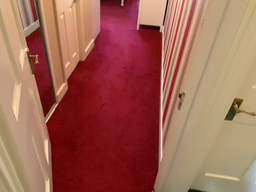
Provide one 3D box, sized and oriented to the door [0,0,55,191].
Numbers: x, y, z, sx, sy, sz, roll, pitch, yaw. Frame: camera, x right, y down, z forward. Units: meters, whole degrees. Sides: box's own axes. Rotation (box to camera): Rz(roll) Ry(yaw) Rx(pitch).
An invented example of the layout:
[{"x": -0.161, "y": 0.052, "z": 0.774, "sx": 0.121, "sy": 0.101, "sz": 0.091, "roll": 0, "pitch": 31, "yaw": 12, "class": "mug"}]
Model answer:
[{"x": -0.480, "y": -0.030, "z": 0.880, "sx": 0.100, "sy": 1.930, "sz": 0.940, "roll": -8, "pitch": 41, "yaw": -16, "class": "door"}]
